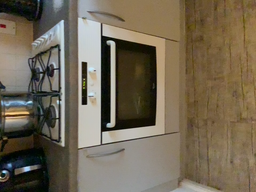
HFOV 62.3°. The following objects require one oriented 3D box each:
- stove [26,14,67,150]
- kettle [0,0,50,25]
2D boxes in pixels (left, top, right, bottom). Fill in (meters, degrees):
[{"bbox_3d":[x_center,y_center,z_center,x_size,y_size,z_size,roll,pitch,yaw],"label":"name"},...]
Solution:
[{"bbox_3d":[-0.460,-0.060,1.150,0.560,0.030,0.590,0,91,51],"label":"stove"},{"bbox_3d":[-0.620,-0.560,1.210,0.220,0.270,0.200,-2,89,51],"label":"kettle"}]
